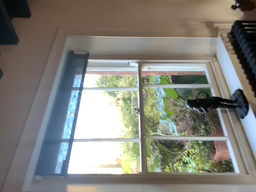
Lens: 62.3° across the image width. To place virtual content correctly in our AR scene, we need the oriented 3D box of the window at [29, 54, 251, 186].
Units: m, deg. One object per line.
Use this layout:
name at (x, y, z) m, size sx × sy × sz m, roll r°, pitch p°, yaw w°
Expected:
window at (0.080, 0.100, 1.700) m, size 0.090 × 1.380 × 1.150 m, roll 93°, pitch 177°, yaw -53°

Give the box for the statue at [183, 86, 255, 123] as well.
statue at (0.660, 0.060, 1.560) m, size 0.090 × 0.450 × 0.260 m, roll 93°, pitch 177°, yaw -57°
